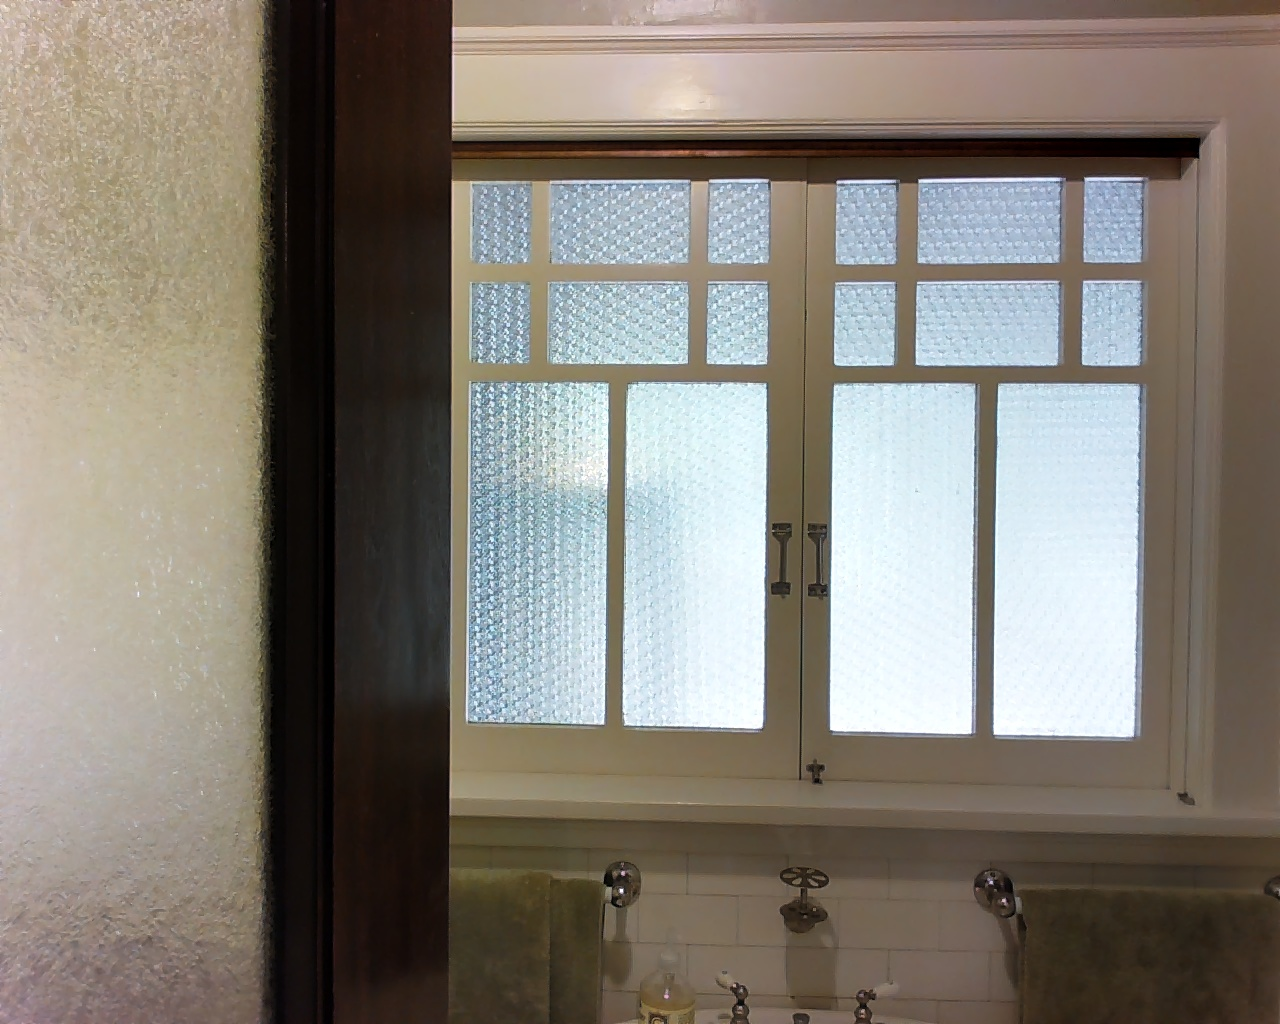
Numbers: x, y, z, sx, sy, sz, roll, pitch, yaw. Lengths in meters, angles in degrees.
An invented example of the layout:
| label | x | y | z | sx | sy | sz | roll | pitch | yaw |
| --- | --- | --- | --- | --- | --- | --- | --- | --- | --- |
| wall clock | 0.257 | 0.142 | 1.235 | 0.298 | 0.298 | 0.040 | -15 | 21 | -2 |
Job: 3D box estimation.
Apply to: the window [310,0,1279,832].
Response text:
| label | x | y | z | sx | sy | sz | roll | pitch | yaw |
| --- | --- | --- | --- | --- | --- | --- | --- | --- | --- |
| window | 0.280 | -0.150 | 1.700 | 1.580 | 1.230 | 0.150 | 0 | 1 | 4 |

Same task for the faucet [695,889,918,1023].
| label | x | y | z | sx | sy | sz | roll | pitch | yaw |
| --- | --- | --- | --- | --- | --- | --- | --- | --- | --- |
| faucet | 0.240 | 0.670 | 1.600 | 0.310 | 0.150 | 0.170 | 0 | 1 | 5 |
